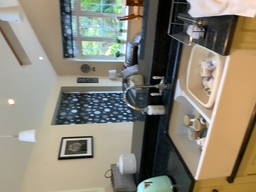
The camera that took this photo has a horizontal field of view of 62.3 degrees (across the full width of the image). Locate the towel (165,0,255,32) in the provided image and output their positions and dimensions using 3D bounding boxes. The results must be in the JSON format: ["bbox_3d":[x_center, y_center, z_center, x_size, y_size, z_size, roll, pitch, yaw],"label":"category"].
[{"bbox_3d":[0.360,-0.460,0.950,0.510,0.200,0.250,-113,24,-62],"label":"towel"}]
